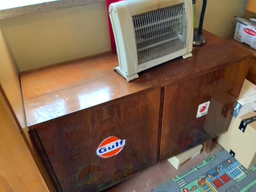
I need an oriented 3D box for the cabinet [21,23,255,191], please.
[{"bbox_3d":[0.060,0.110,1.450,1.190,0.830,0.600,-17,40,-19],"label":"cabinet"}]
